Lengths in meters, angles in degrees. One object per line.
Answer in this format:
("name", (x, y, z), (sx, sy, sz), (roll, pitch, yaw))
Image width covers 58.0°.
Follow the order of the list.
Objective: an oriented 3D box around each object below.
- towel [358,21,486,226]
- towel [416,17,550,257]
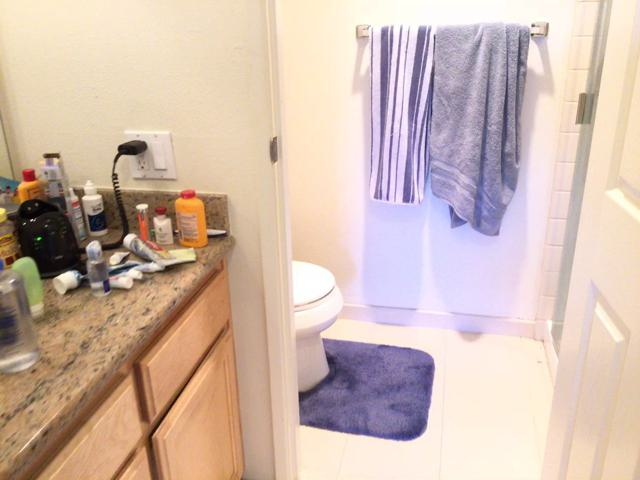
("towel", (0.360, -0.420, 2.110), (0.420, 0.700, 0.150), (5, 22, 15))
("towel", (0.560, -0.360, 2.060), (0.380, 0.800, 0.190), (5, 22, 15))
